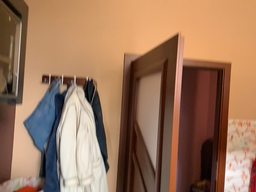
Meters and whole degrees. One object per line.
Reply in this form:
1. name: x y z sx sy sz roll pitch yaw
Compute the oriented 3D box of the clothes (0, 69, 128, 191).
1. clothes: -0.460 0.730 1.540 0.740 1.740 0.440 4 -1 -8
